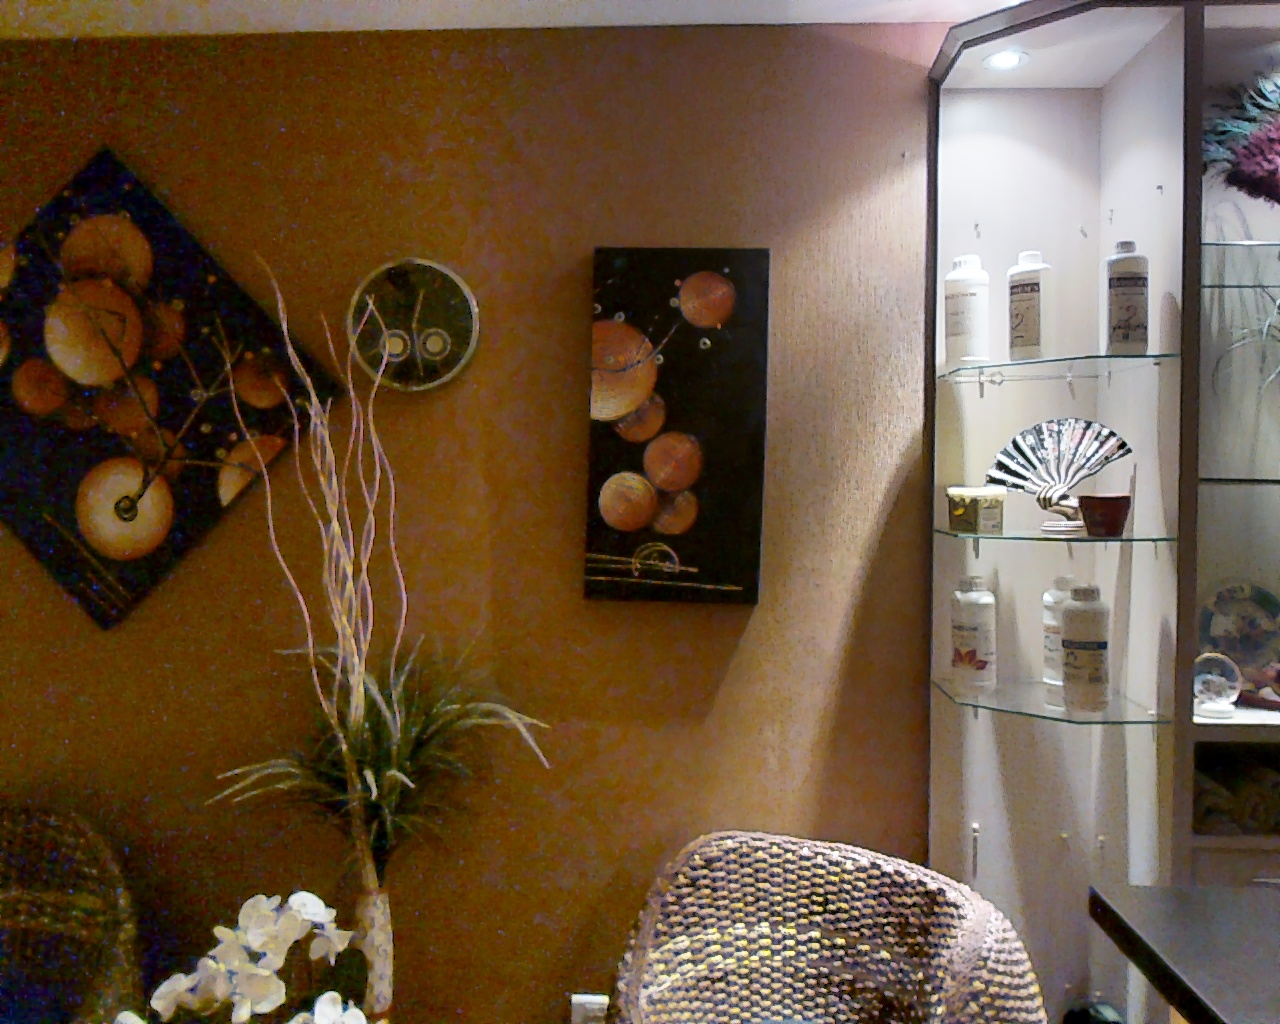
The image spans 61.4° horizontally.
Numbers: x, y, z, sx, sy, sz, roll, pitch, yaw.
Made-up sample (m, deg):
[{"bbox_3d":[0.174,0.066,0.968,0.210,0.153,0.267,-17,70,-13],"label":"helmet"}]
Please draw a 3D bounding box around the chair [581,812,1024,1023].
[{"bbox_3d":[0.270,1.140,2.090,0.660,0.830,0.940,0,0,4],"label":"chair"}]

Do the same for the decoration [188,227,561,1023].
[{"bbox_3d":[-0.530,0.500,2.290,0.650,2.080,0.470,0,0,4],"label":"decoration"}]

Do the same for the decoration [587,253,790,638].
[{"bbox_3d":[0.110,-0.150,2.450,0.450,0.860,0.060,0,0,4],"label":"decoration"}]
